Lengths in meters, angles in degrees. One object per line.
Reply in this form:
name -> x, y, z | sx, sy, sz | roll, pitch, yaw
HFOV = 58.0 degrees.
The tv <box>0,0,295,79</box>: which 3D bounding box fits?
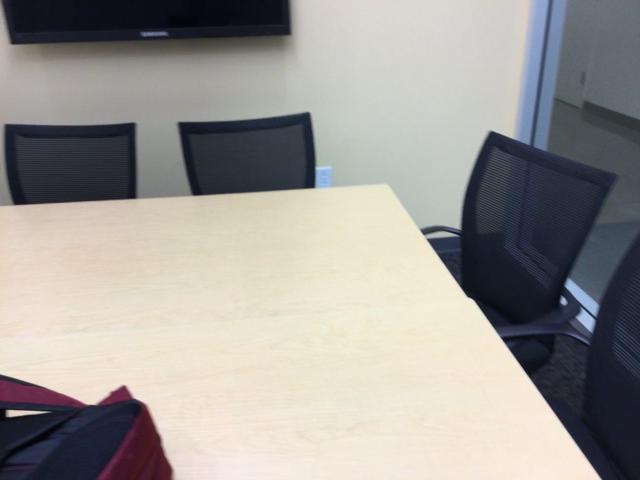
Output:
tv -> -0.700, -1.070, 2.160 | 1.130, 0.770, 0.200 | -8, 25, -8
